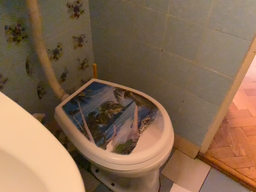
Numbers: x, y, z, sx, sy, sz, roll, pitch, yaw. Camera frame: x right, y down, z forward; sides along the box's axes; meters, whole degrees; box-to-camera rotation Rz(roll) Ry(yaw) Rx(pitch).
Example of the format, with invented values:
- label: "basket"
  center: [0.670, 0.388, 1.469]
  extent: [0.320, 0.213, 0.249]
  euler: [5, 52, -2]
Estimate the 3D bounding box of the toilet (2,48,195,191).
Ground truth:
- label: "toilet"
  center: [-0.130, 0.160, 1.000]
  extent: [0.660, 0.420, 0.420]
  euler: [28, 50, 24]
